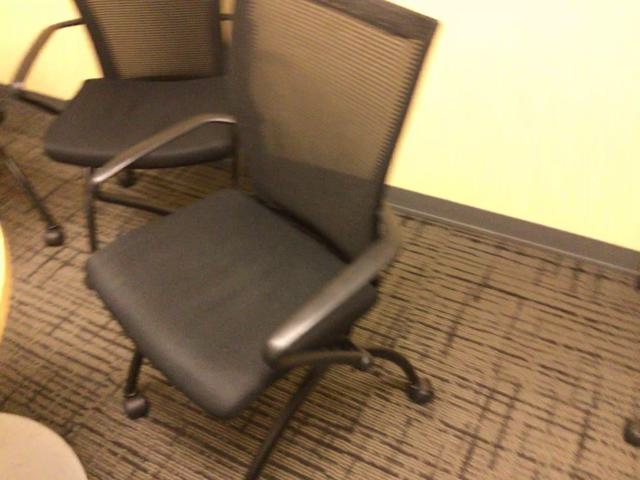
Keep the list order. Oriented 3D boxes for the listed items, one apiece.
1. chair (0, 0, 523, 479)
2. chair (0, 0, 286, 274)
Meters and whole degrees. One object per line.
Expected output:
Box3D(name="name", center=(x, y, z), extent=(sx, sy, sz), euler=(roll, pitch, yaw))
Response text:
Box3D(name="chair", center=(-0.140, 0.010, 1.130), extent=(0.580, 0.870, 0.640), euler=(-31, 50, -29))
Box3D(name="chair", center=(-0.430, -0.420, 1.600), extent=(0.600, 0.860, 0.580), euler=(-1, 42, 1))
